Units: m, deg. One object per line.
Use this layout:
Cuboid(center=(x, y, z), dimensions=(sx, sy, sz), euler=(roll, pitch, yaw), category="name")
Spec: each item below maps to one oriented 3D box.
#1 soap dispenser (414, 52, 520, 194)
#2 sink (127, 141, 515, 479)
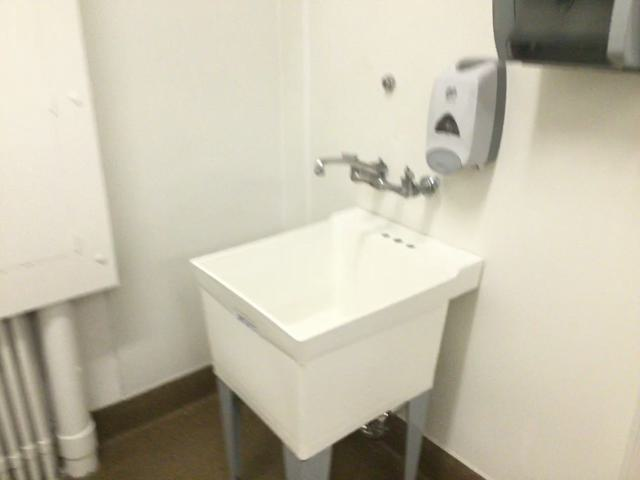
Cuboid(center=(0.350, -0.290, 1.400), dimensions=(0.180, 0.310, 0.130), euler=(18, 26, 41), category="soap dispenser")
Cuboid(center=(-0.010, 0.340, 1.620), dimensions=(0.700, 1.070, 0.670), euler=(-15, 25, -38), category="sink")
